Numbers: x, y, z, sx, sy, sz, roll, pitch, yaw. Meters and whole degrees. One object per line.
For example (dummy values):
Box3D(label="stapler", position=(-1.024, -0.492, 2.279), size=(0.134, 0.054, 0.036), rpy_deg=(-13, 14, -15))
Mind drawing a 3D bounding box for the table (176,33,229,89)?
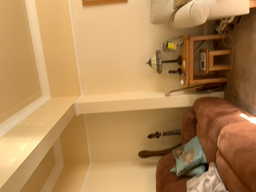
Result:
Box3D(label="table", position=(0.960, -0.480, 2.840), size=(0.520, 0.520, 0.640), rpy_deg=(-92, -2, -75))
